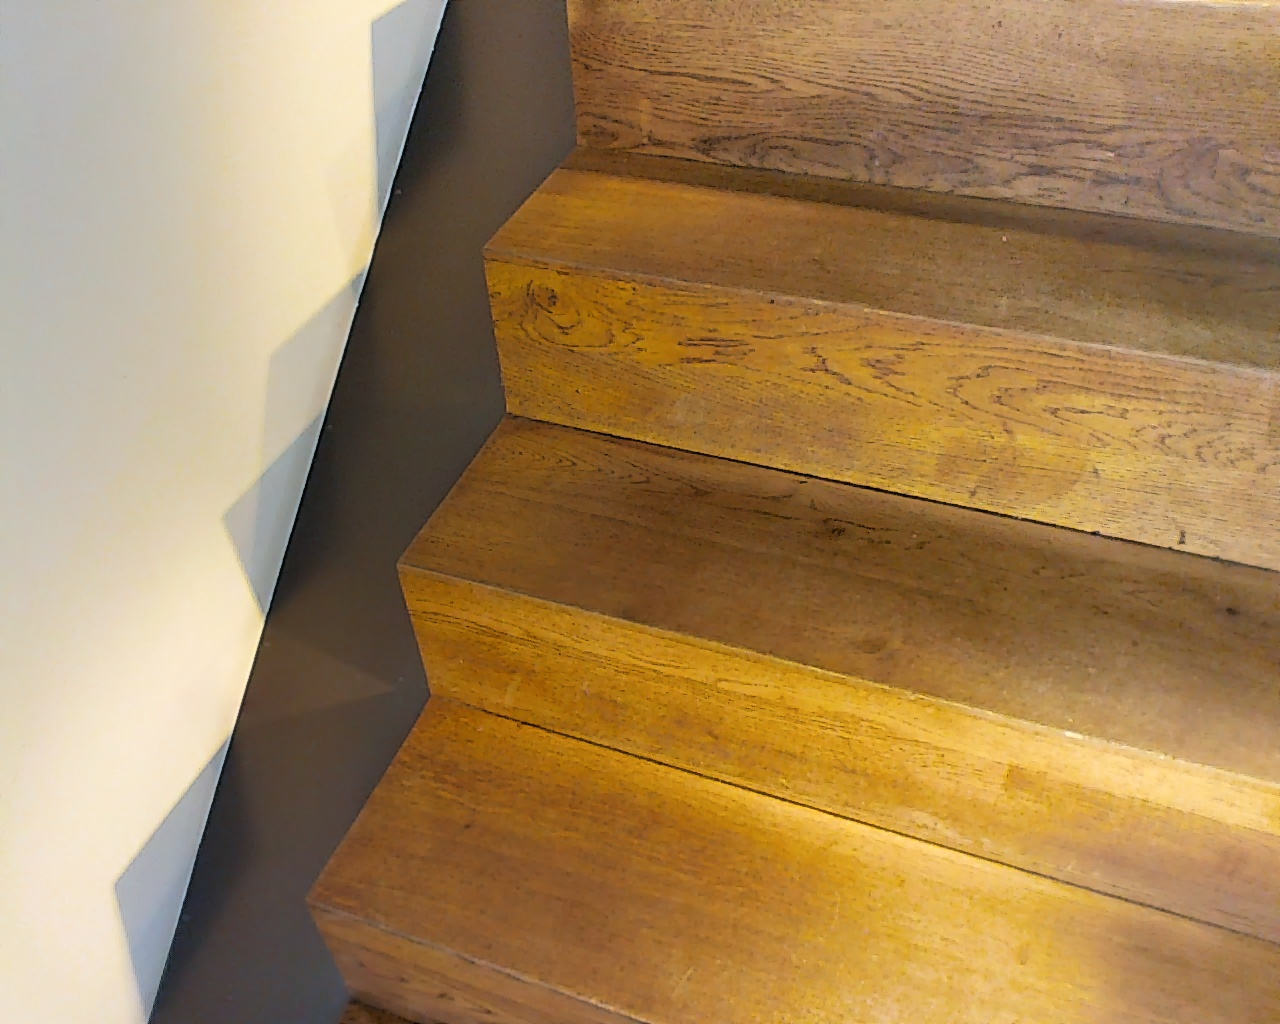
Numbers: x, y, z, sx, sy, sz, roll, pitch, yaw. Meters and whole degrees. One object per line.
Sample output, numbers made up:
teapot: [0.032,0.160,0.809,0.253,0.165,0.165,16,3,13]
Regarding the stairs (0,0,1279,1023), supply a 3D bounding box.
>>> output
stairs: [0.340,-0.670,0.910,1.150,2.720,3.170,13,45,16]
